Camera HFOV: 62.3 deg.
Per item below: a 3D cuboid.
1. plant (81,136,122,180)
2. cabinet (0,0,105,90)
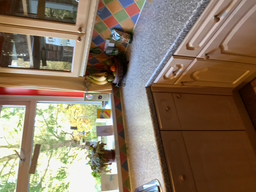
[{"bbox_3d":[-0.250,0.550,1.890,0.270,0.290,0.300,120,147,-54],"label":"plant"},{"bbox_3d":[-0.690,-0.500,1.450,1.140,0.890,0.340,121,146,-55],"label":"cabinet"}]
